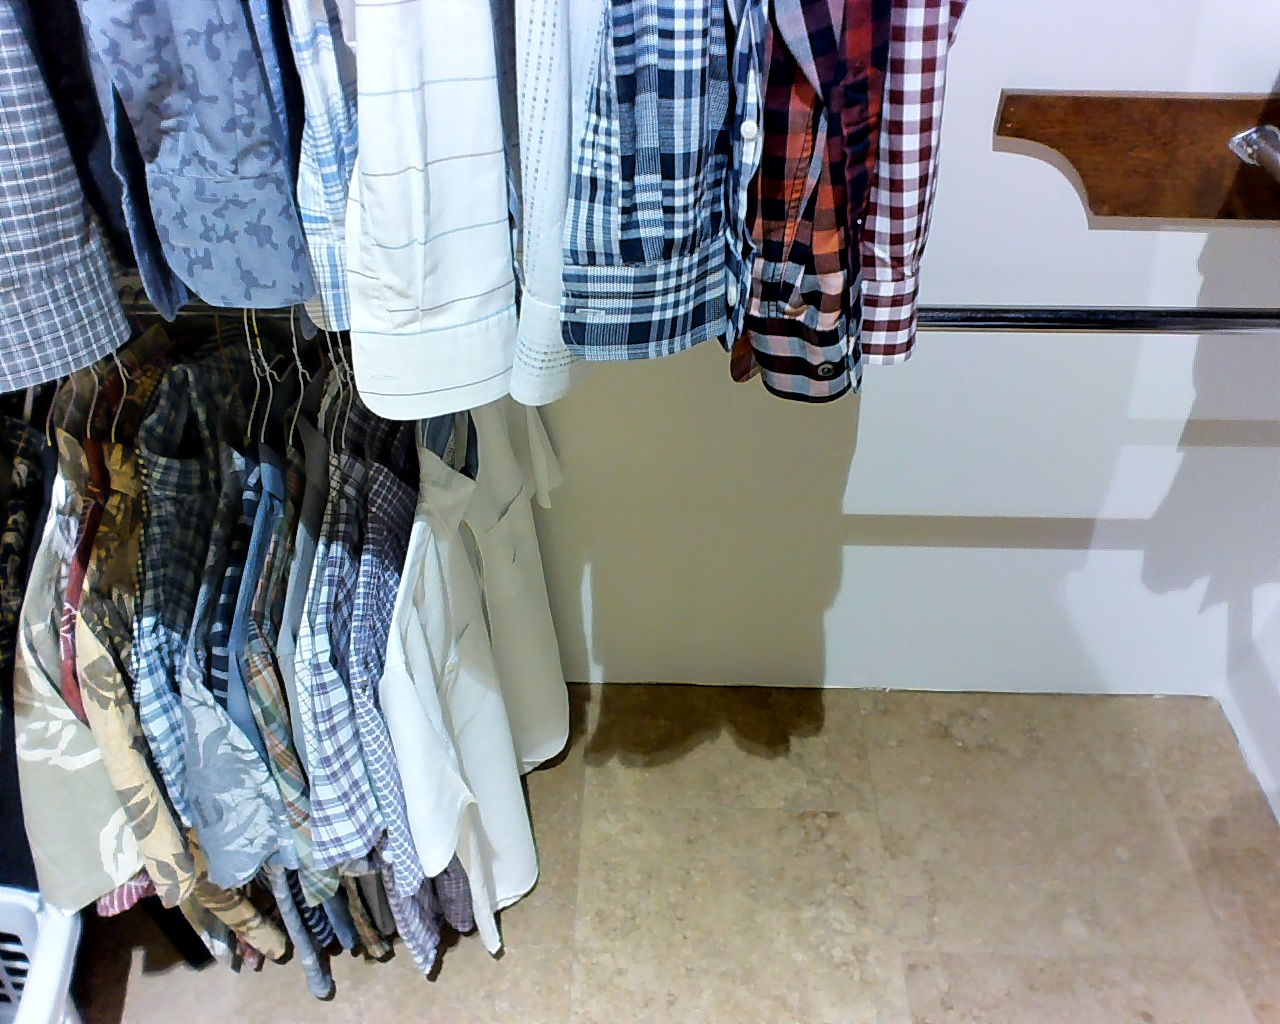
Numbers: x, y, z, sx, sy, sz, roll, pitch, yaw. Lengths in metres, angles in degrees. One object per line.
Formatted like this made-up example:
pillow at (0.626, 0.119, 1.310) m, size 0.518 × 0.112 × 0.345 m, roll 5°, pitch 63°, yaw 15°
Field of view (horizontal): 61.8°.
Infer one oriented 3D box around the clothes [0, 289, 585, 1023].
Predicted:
clothes at (-0.440, 0.250, 1.300) m, size 0.700 × 0.790 × 0.660 m, roll 0°, pitch 42°, yaw 0°
